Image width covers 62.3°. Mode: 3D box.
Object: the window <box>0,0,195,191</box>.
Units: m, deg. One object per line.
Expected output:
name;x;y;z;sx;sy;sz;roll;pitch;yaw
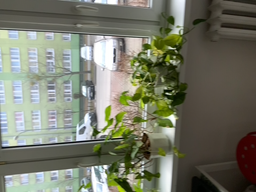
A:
window;-0.230;0.110;1.340;0.130;1.320;2.460;-155;64;-72
